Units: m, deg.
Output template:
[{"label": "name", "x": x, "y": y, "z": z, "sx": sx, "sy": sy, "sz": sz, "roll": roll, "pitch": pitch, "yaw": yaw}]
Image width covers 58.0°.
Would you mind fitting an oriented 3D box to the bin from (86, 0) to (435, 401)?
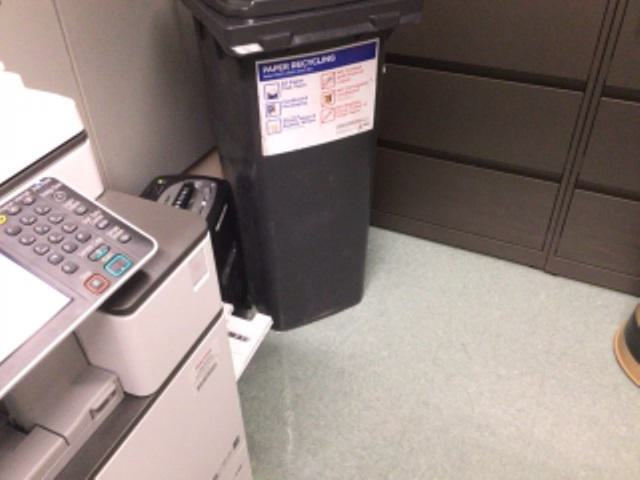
[{"label": "bin", "x": -0.080, "y": -0.200, "z": 1.600, "sx": 0.610, "sy": 1.070, "sz": 0.540, "roll": 13, "pitch": 40, "yaw": 23}]
